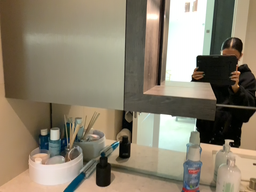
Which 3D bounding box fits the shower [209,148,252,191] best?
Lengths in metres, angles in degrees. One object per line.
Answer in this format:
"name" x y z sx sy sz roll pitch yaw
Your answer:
"shower" 0.360 0.300 0.770 0.110 0.150 0.170 5 11 19
